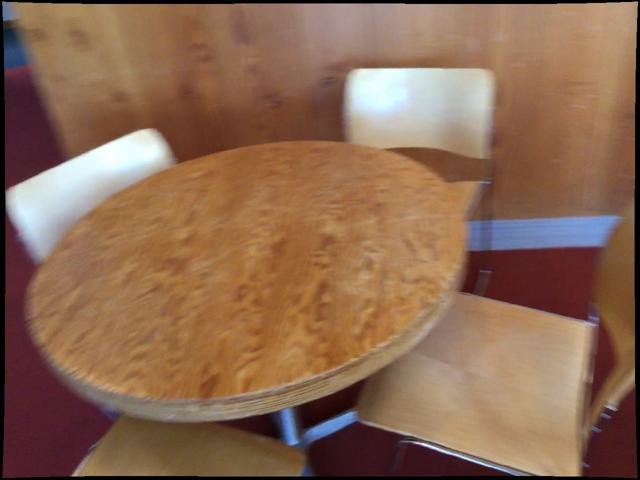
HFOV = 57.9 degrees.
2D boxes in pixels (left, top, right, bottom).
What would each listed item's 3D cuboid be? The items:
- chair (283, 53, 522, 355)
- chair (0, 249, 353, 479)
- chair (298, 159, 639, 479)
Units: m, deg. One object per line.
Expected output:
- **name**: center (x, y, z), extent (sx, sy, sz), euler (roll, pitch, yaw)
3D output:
- **chair**: center (0.300, -0.150, 1.870), extent (0.500, 0.670, 0.640), euler (12, 40, 24)
- **chair**: center (-0.320, 0.511, 1.050), extent (0.560, 0.690, 0.550), euler (14, 41, 27)
- **chair**: center (0.380, 0.290, 1.240), extent (0.609, 0.700, 0.530), euler (8, 39, 21)
